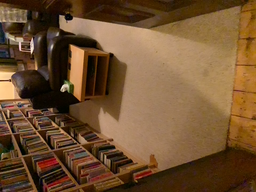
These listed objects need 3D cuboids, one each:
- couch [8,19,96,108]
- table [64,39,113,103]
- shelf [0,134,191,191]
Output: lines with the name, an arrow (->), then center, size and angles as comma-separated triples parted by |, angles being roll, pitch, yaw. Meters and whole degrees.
couch -> -1.190, -0.530, 3.180 | 1.090, 0.930, 1.040 | 27, 115, 50
table -> -0.530, -0.330, 2.730 | 0.490, 0.390, 0.680 | 32, 118, 49
shelf -> -0.690, 0.790, 1.660 | 1.290, 2.000, 0.320 | 13, 104, 53
